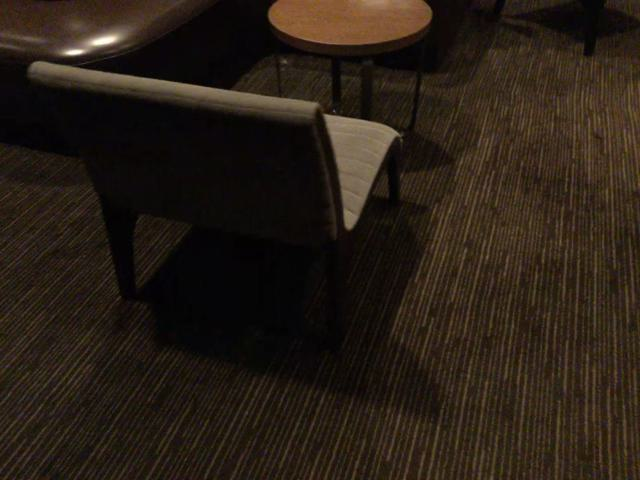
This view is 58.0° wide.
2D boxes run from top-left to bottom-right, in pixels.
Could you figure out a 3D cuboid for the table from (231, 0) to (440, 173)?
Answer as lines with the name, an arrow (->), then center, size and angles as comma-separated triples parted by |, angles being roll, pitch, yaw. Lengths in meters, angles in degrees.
table -> 0.090, -0.650, 2.120 | 0.580, 0.490, 0.560 | 11, 45, 15
